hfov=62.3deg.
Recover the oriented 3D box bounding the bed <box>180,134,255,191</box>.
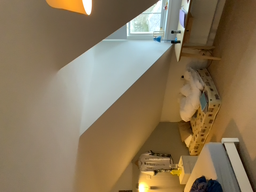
[{"bbox_3d":[1.330,1.740,3.290,2.020,0.500,1.360,88,-179,-46],"label":"bed"}]

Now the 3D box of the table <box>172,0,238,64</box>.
[{"bbox_3d":[1.210,-1.180,3.530,1.210,0.710,0.480,89,-179,-45],"label":"table"}]
